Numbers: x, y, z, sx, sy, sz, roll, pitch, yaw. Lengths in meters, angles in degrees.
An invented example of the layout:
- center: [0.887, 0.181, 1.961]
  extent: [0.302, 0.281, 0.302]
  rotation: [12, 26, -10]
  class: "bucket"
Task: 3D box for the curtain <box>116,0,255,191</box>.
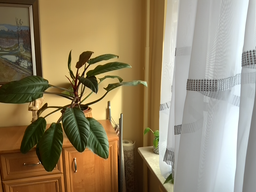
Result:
- center: [0.300, -0.080, 0.750]
  extent: [0.360, 1.660, 2.010]
  rotation: [-2, 11, -13]
  class: "curtain"
